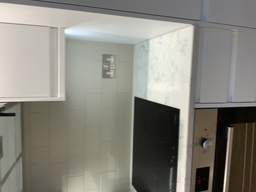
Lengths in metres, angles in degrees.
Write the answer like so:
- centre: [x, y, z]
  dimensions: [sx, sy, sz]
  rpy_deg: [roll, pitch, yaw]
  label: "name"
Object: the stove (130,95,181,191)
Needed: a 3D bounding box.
- centre: [0.120, 0.310, 1.180]
  dimensions: [0.530, 0.020, 0.580]
  rpy_deg: [-162, 72, -69]
  label: "stove"
